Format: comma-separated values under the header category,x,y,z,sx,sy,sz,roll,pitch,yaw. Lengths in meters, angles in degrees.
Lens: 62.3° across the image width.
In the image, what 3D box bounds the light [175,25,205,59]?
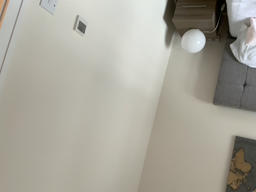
category,x,y,z,sx,sy,sz,roll,pitch,yaw
light,0.670,-0.570,2.270,0.250,0.240,0.280,12,174,21
